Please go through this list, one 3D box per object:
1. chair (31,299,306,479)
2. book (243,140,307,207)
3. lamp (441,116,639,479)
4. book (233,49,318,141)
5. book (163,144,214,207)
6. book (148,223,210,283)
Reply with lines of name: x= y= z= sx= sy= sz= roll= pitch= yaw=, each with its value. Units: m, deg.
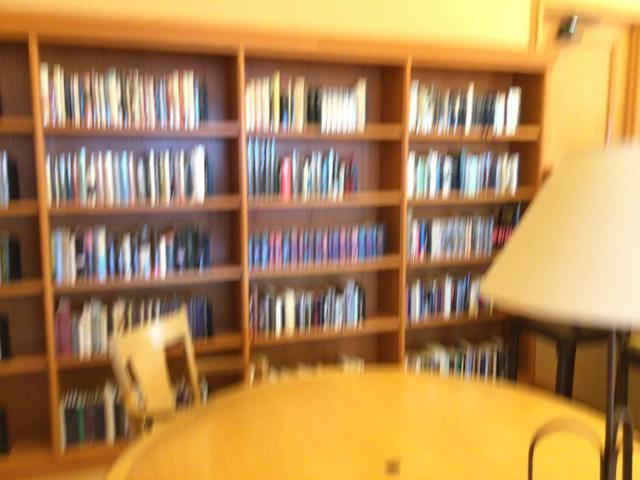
chair: x=-0.530 y=0.760 z=2.290 sx=0.680 sy=0.900 sz=0.770 roll=-1 pitch=6 yaw=20
book: x=-0.240 y=-0.350 z=3.060 sx=0.280 sy=0.330 sz=0.200 roll=-5 pitch=6 yaw=-20
lamp: x=0.540 y=0.210 z=1.080 sx=0.420 sy=0.820 sz=0.440 roll=-5 pitch=6 yaw=-20
book: x=-0.230 y=-0.740 z=2.980 sx=0.390 sy=0.430 sz=0.140 roll=-5 pitch=6 yaw=-20
book: x=-0.680 y=-0.330 z=2.980 sx=0.210 sy=0.300 sz=0.210 roll=-5 pitch=6 yaw=-20
book: x=-0.730 y=0.060 z=2.990 sx=0.270 sy=0.270 sz=0.220 roll=-5 pitch=6 yaw=-20
